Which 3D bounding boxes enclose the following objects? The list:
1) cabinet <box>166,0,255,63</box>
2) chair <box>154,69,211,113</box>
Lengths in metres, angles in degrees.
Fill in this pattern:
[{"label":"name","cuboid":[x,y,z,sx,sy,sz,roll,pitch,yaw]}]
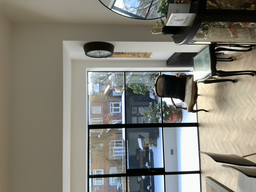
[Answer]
[{"label":"cabinet","cuboid":[1.010,-0.630,1.760,1.000,1.120,0.450,135,135,-82]},{"label":"chair","cuboid":[0.960,-0.110,3.950,0.680,0.790,0.560,-101,12,-62]}]
